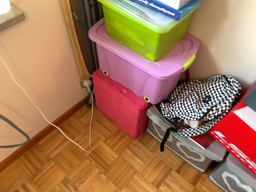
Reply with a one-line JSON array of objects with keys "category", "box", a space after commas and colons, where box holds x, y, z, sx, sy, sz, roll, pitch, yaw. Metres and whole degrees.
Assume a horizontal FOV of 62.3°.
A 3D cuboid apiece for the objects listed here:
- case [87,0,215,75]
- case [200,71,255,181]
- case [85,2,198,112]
[{"category": "case", "box": [0.100, -0.390, 1.060, 0.470, 0.210, 0.360, 35, 60, 23]}, {"category": "case", "box": [0.630, 0.150, 1.040, 0.310, 0.310, 0.340, -38, 62, -25]}, {"category": "case", "box": [0.070, -0.250, 1.280, 0.470, 0.330, 0.390, 35, 60, 24]}]
